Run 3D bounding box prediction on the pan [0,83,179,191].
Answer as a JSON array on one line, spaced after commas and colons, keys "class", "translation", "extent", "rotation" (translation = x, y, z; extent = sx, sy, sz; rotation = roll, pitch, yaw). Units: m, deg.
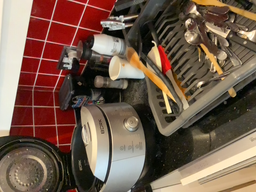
[{"class": "pan", "translation": [-0.190, 0.210, 0.700], "extent": [0.410, 0.490, 0.290], "rotation": [-48, 49, 45]}]
